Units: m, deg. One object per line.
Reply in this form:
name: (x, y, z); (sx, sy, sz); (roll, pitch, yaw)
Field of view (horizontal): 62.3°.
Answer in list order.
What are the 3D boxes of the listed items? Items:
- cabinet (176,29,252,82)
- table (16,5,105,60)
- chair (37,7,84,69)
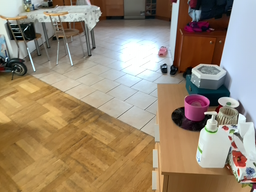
cabinet: (1.120, -0.560, 2.920); (0.830, 0.610, 0.320); (3, 32, 6)
table: (-1.080, -1.110, 3.680); (1.200, 0.740, 0.710); (1, 32, 4)
chair: (-1.010, -0.910, 3.310); (0.370, 0.810, 0.520); (5, 33, 10)
